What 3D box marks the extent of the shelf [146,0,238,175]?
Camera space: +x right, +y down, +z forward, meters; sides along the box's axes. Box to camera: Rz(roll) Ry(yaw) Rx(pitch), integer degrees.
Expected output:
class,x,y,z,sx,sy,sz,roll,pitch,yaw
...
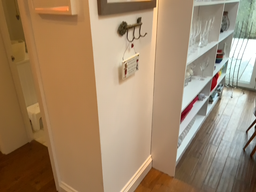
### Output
class,x,y,z,sx,sy,sz,roll,pitch,yaw
shelf,0.870,-0.580,2.460,0.260,2.000,2.180,15,30,30
